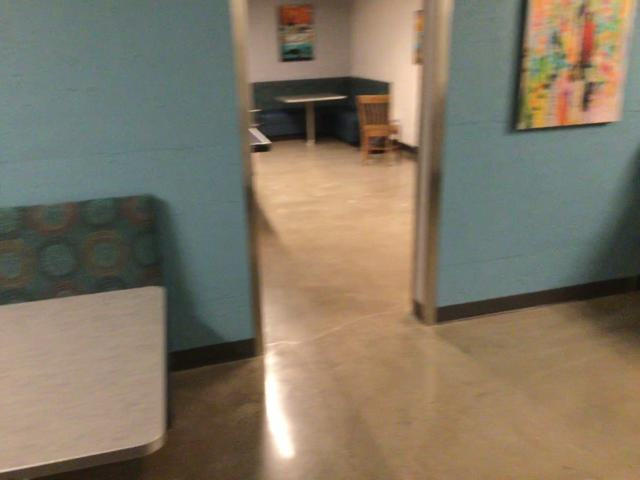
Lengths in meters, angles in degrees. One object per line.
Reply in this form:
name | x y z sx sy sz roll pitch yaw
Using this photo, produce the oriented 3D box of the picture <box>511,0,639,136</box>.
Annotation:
picture | 1.210 -0.930 2.670 0.640 0.830 0.060 -7 19 -11
